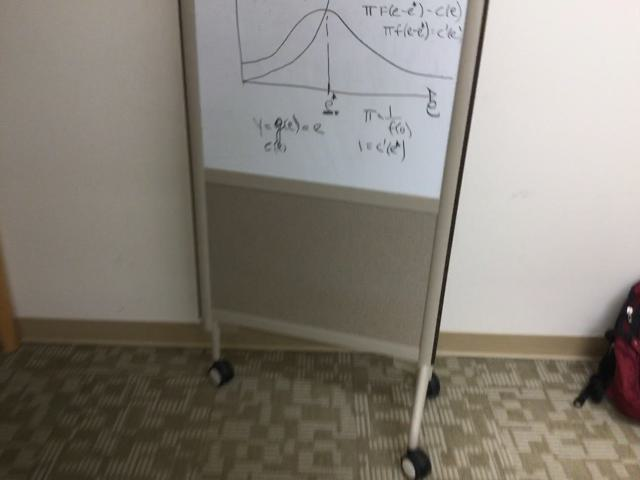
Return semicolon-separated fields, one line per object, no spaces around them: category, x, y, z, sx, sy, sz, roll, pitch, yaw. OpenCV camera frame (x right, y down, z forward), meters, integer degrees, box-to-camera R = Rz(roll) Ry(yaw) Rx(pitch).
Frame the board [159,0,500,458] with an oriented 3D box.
board;0.000;-0.110;1.590;0.790;1.320;0.260;8;20;12
